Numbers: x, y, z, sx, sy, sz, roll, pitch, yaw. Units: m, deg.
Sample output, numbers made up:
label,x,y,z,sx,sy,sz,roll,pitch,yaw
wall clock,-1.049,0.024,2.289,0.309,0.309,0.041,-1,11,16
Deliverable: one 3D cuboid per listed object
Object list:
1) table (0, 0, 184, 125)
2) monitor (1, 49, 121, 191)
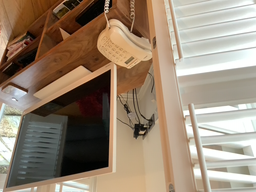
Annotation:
label,x,y,z,sx,sy,sz,roll,pitch,yaw
table,-0.290,-0.240,1.270,1.040,0.450,0.510,-22,144,31
monitor,-0.330,0.140,0.990,0.740,0.490,0.040,-23,144,32
